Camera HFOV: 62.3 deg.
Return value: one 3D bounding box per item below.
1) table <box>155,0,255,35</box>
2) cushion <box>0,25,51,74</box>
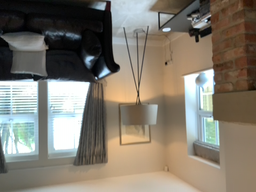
[{"bbox_3d":[0.850,-1.030,2.540,0.640,0.240,1.060,0,178,-18],"label":"table"},{"bbox_3d":[-1.190,-0.520,2.540,0.460,0.410,0.640,0,178,-17],"label":"cushion"}]
